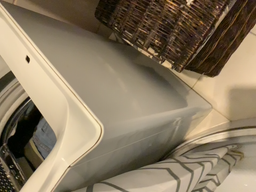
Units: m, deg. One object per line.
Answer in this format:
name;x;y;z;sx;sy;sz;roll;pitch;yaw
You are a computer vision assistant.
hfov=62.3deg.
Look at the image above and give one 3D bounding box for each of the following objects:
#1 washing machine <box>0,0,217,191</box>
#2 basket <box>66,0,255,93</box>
washing machine;-0.110;0.100;0.740;0.420;0.840;0.520;46;112;23
basket;0.200;-0.360;0.750;0.480;0.460;0.520;39;110;25
